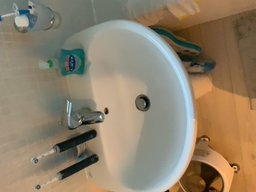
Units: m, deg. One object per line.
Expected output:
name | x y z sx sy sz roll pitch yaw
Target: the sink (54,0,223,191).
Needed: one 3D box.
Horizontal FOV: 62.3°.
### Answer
sink | 0.030 0.020 0.750 0.440 0.230 0.570 -8 95 36
